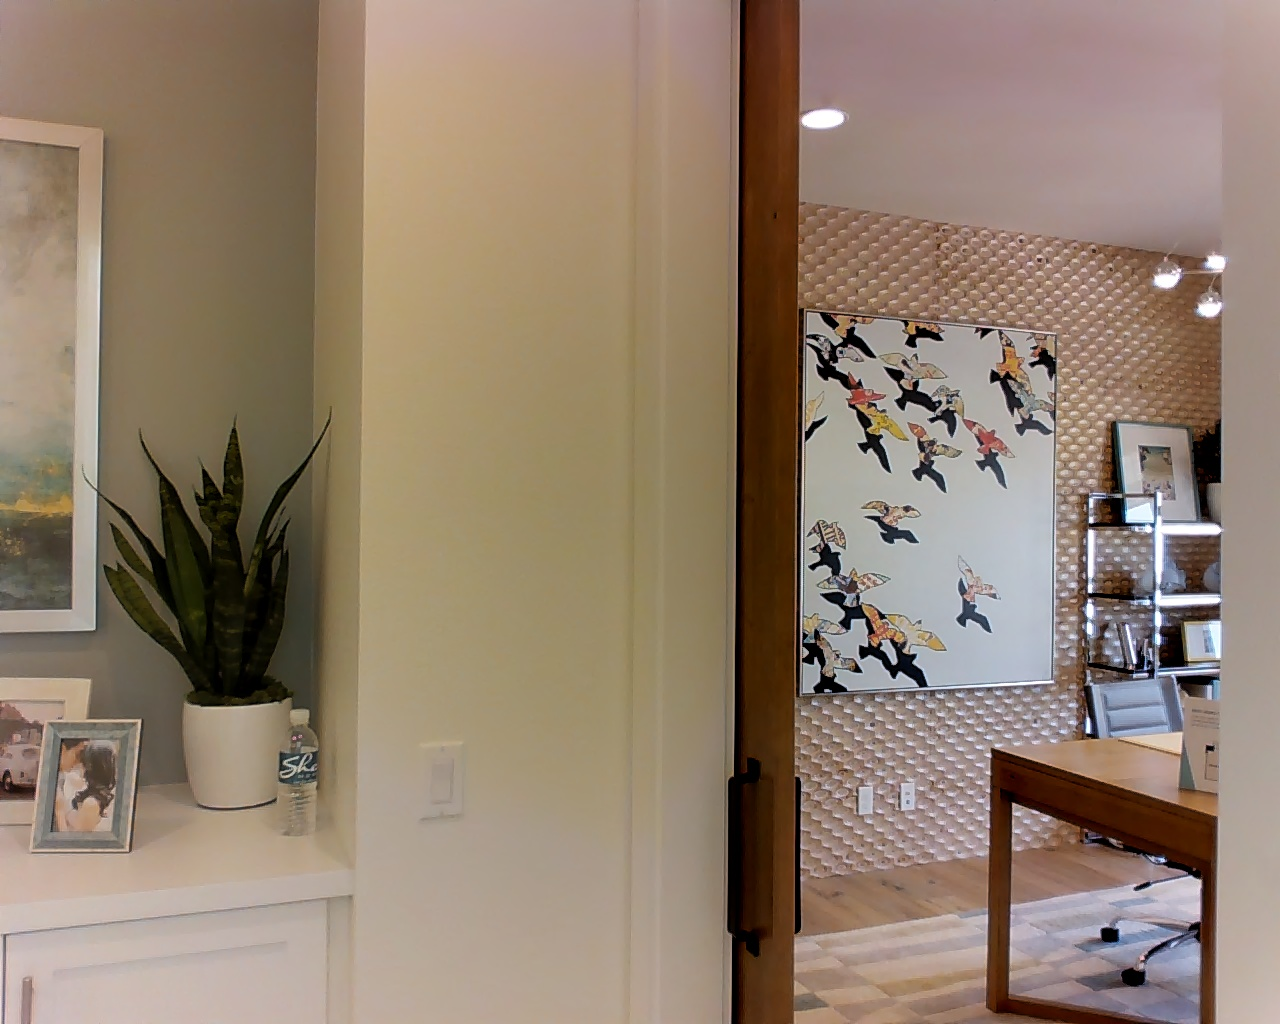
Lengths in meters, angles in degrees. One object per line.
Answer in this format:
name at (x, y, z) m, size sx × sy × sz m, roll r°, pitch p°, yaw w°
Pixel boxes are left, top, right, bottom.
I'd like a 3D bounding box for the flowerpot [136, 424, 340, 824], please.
flowerpot at (-0.750, 0.190, 2.000) m, size 0.330 × 0.670 × 0.300 m, roll 0°, pitch -1°, yaw -22°
